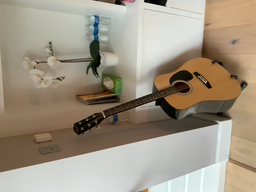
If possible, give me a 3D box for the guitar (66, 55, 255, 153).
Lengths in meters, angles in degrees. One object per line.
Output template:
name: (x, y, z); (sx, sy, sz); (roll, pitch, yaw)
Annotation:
guitar: (0.210, 0.000, 1.250); (0.450, 1.090, 0.290); (-113, 26, -50)
